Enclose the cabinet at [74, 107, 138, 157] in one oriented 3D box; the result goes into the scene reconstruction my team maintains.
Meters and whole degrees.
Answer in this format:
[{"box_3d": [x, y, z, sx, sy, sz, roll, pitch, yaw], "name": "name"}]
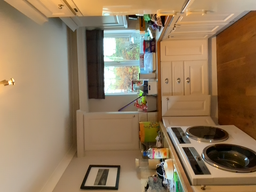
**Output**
[{"box_3d": [-0.350, 0.590, 3.590, 0.410, 1.010, 0.750, -47, -45, -88], "name": "cabinet"}]
